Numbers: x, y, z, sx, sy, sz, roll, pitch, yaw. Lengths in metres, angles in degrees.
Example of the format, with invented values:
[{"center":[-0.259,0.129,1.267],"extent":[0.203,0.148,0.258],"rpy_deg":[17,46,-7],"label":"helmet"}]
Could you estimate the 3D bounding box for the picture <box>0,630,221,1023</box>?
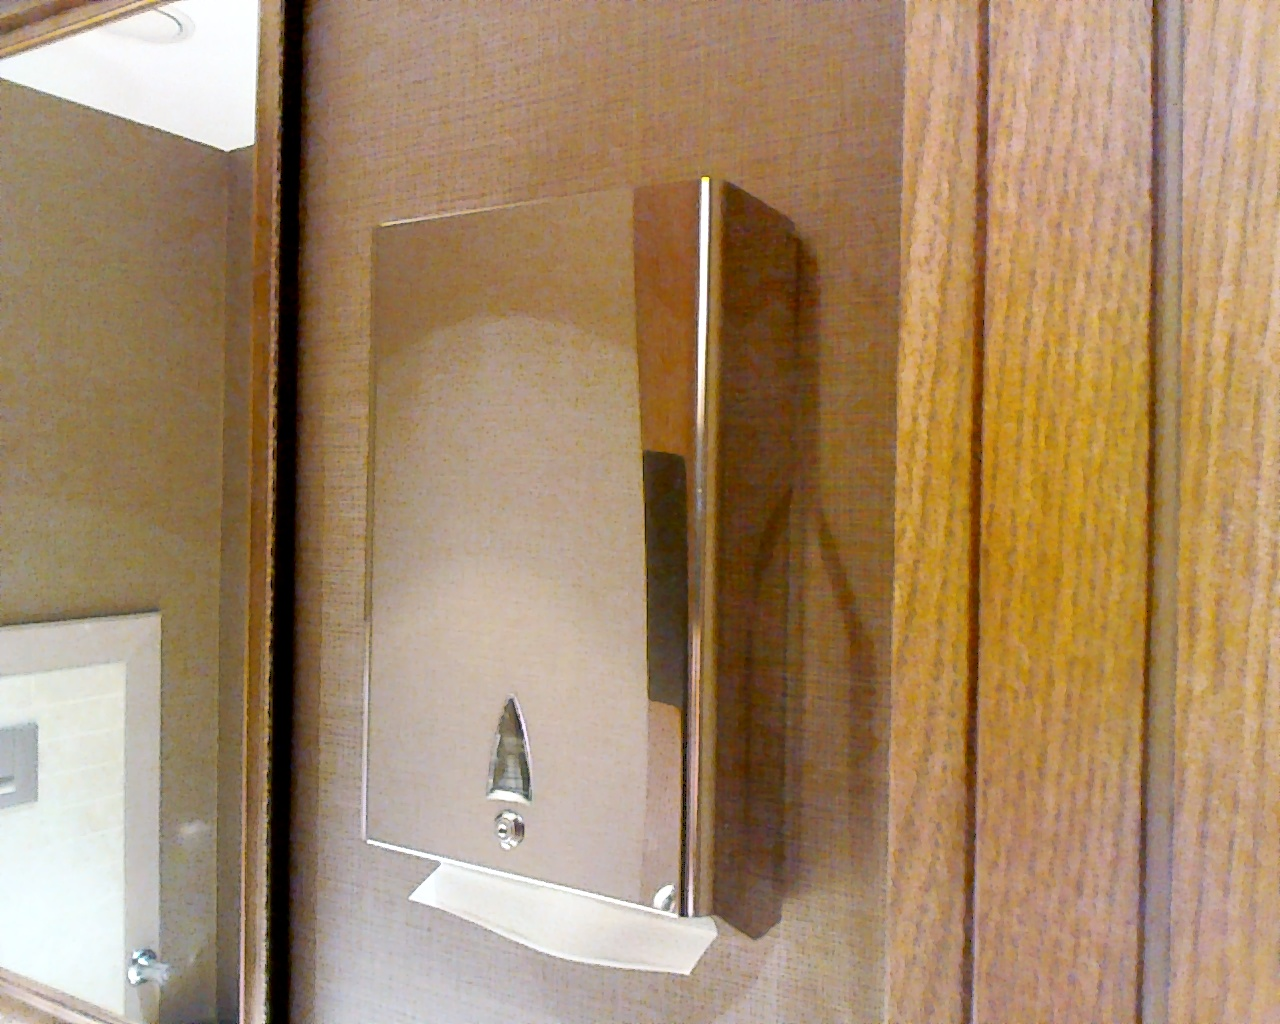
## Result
[{"center":[-1.220,0.710,2.250],"extent":[0.030,0.860,0.770],"rpy_deg":[0,0,32],"label":"picture"}]
